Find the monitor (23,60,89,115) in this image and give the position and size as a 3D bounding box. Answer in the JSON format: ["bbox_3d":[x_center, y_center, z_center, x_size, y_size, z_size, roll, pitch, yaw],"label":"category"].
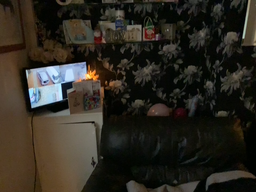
[{"bbox_3d":[-0.570,-0.090,1.780,0.050,0.360,0.520,16,24,42],"label":"monitor"}]
